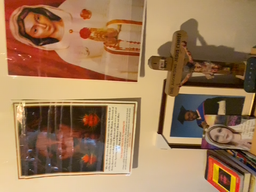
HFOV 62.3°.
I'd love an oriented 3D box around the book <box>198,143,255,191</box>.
[{"bbox_3d":[0.430,0.350,0.890,0.190,0.140,0.220,-133,45,-65],"label":"book"}]
